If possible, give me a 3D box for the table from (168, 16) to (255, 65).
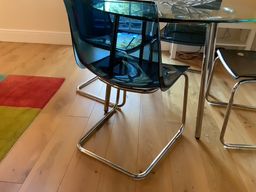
[{"bbox_3d":[0.990,-0.700,2.640,0.910,0.450,0.330,6,30,6],"label":"table"}]
